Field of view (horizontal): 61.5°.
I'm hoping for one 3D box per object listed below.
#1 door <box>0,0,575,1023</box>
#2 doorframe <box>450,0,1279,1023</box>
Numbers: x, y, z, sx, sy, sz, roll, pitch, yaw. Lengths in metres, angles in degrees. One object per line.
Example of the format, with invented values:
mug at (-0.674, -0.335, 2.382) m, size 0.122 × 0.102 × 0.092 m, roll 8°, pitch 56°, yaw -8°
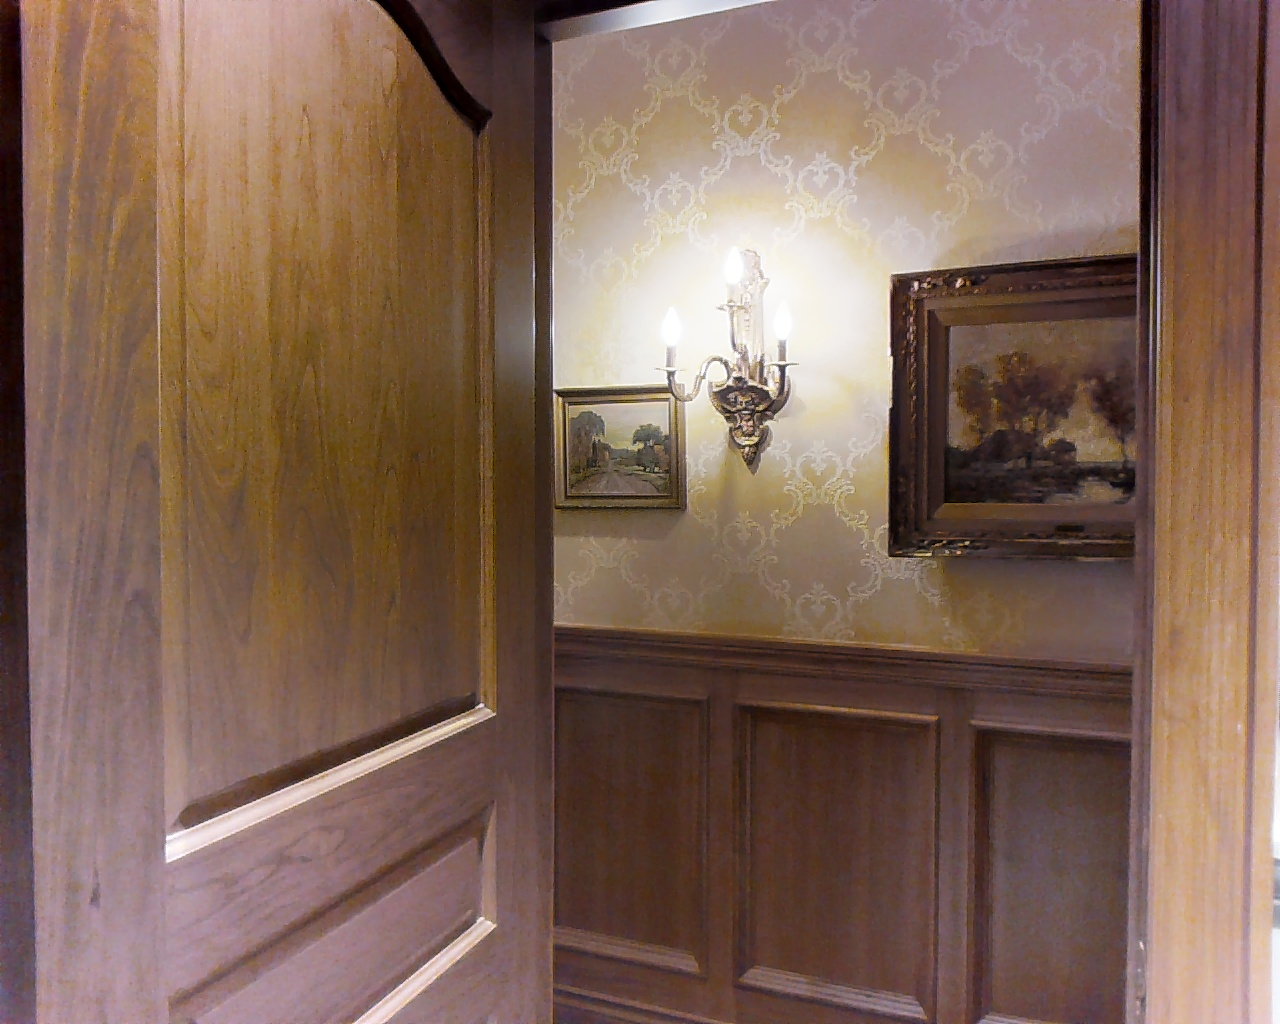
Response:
door at (-0.250, 0.320, 1.030) m, size 0.060 × 2.110 × 0.800 m, roll 1°, pitch 2°, yaw 19°
doorframe at (0.210, 0.290, 1.250) m, size 0.910 × 2.190 × 0.170 m, roll 1°, pitch 2°, yaw 25°
